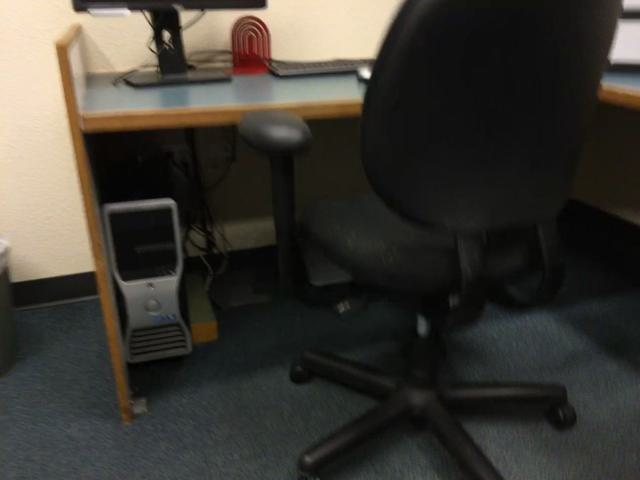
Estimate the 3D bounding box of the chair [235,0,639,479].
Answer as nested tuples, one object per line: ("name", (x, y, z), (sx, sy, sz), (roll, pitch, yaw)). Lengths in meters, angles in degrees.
("chair", (0.250, -0.040, 1.160), (0.700, 1.050, 0.660), (-5, 22, -18))
